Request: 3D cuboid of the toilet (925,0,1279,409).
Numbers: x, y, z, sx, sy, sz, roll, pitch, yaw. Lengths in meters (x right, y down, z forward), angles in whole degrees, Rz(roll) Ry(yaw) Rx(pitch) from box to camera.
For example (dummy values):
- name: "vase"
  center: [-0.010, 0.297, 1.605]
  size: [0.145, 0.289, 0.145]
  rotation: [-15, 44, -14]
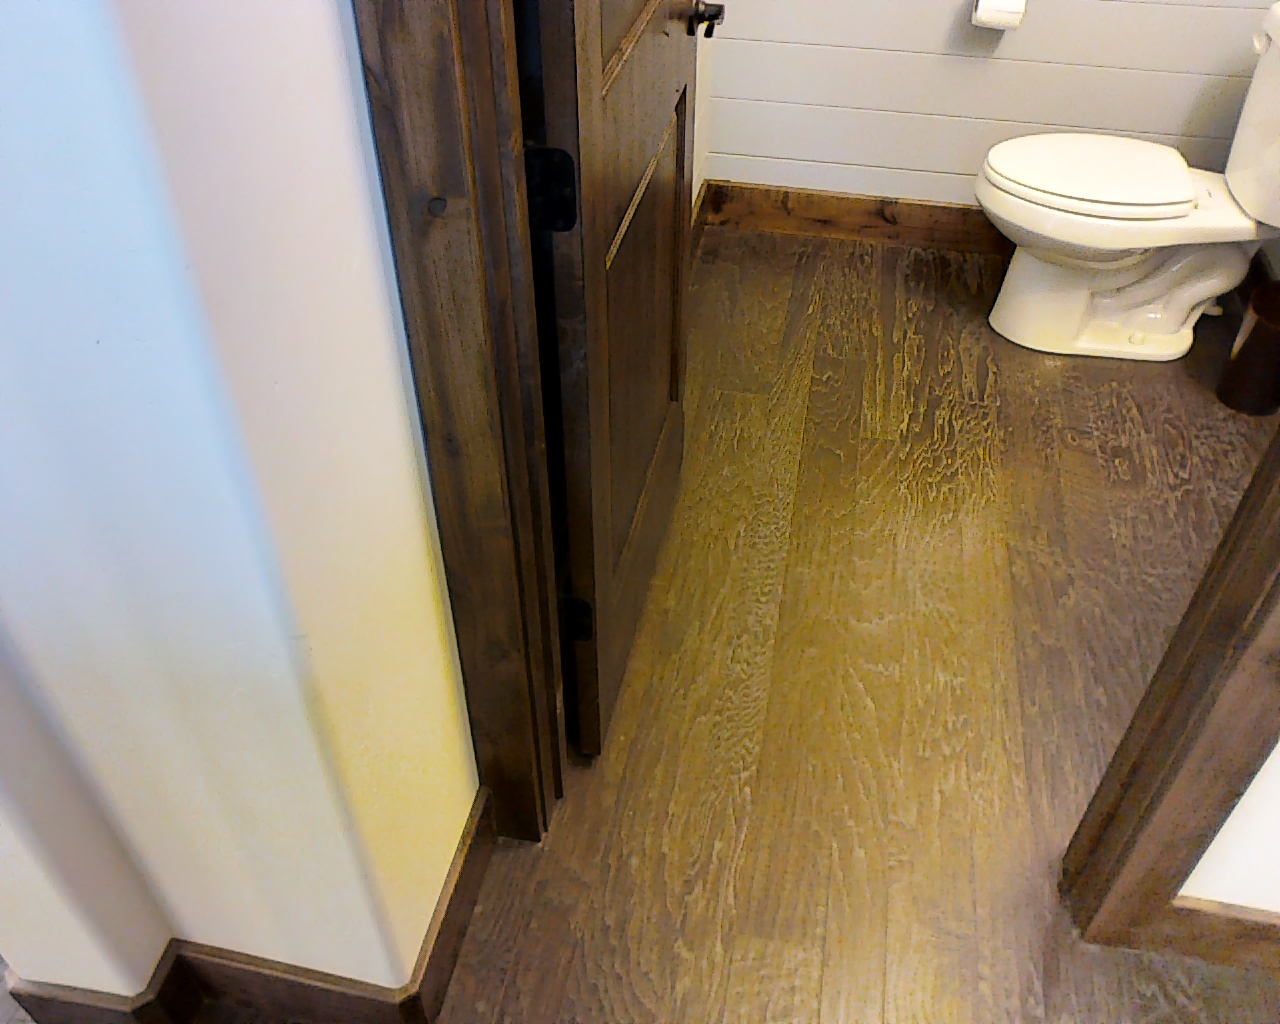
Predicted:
- name: "toilet"
  center: [1.110, -0.710, 2.380]
  size: [0.790, 0.750, 0.460]
  rotation: [7, 42, 7]
